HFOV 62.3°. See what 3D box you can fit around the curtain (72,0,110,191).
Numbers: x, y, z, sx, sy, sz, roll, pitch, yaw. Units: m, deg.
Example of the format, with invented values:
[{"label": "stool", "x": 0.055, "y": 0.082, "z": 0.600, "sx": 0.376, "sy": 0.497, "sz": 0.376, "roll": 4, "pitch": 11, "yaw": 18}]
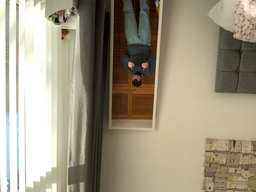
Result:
[{"label": "curtain", "x": -0.300, "y": 0.280, "z": 1.780, "sx": 0.200, "sy": 2.100, "sz": 0.380, "roll": 2, "pitch": -176, "yaw": 5}]
